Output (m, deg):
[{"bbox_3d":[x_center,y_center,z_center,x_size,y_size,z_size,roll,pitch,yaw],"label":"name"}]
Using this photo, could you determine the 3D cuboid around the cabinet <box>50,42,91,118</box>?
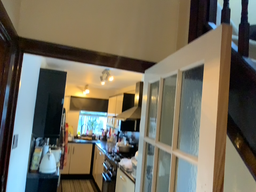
[{"bbox_3d":[-0.700,-0.150,2.750,0.310,0.810,0.770,5,-9,-5],"label":"cabinet"}]
